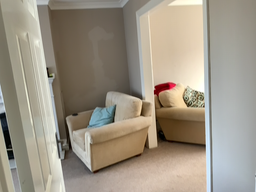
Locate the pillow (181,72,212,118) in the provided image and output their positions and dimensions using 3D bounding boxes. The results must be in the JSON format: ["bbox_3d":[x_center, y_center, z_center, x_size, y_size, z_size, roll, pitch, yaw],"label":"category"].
[{"bbox_3d":[1.250,-0.020,3.880,0.280,0.400,0.700,23,57,11],"label":"pillow"}]
